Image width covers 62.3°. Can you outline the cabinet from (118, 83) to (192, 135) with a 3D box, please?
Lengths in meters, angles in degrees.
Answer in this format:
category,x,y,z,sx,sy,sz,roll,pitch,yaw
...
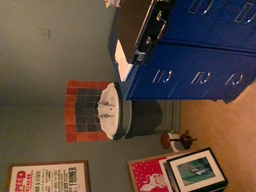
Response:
category,x,y,z,sx,sy,sz,roll,pitch,yaw
cabinet,0.290,0.150,2.460,0.400,0.650,0.410,113,149,-43
